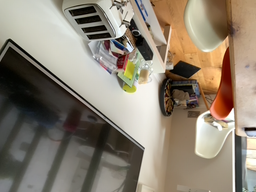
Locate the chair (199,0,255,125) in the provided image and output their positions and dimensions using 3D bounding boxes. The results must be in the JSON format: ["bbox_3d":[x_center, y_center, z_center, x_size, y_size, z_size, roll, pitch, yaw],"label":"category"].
[{"bbox_3d":[0.750,-0.250,1.430,0.430,0.800,0.360,-1,152,26],"label":"chair"}]

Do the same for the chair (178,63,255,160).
[{"bbox_3d":[0.940,0.200,2.260,0.470,0.810,0.560,22,153,-18],"label":"chair"}]

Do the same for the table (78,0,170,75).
[{"bbox_3d":[0.020,-0.590,1.470,0.290,0.450,0.910,-3,151,26],"label":"table"}]
